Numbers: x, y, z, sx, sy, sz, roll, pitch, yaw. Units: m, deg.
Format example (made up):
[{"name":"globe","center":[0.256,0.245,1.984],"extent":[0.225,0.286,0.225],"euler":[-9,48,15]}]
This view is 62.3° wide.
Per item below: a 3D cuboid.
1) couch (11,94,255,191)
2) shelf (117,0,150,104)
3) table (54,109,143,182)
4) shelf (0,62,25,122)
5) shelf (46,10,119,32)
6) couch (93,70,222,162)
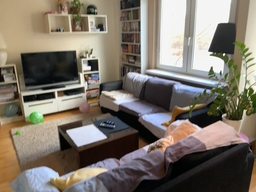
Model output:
[{"name":"couch","center":[0.120,0.640,1.770],"extent":[1.730,0.840,0.910],"euler":[-11,20,-31]},{"name":"shelf","center":[0.110,-1.120,4.740],"extent":[0.240,2.480,0.840],"euler":[-12,21,-32]},{"name":"table","center":[-0.410,0.570,2.800],"extent":[0.860,0.390,0.850],"euler":[-11,20,-31]},{"name":"shelf","center":[-2.240,-0.080,3.910],"extent":[0.440,1.020,0.220],"euler":[-12,21,-34]},{"name":"shelf","center":[-0.890,-1.550,4.450],"extent":[1.490,0.390,0.260],"euler":[-12,21,-34]},{"name":"couch","center":[0.310,0.120,3.650],"extent":[0.960,0.750,2.160],"euler":[-12,20,-32]}]
